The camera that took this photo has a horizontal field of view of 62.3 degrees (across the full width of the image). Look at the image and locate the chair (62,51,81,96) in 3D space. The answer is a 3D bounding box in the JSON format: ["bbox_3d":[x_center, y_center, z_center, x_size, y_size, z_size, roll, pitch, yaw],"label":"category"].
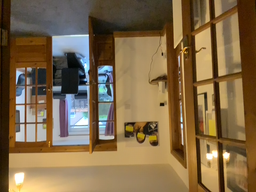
[{"bbox_3d":[-1.320,-0.500,5.000,0.310,0.980,0.540,-1,177,-1],"label":"chair"}]

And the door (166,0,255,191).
[{"bbox_3d":[0.530,-0.300,1.300,0.170,2.020,0.790,-2,176,-17],"label":"door"}]
